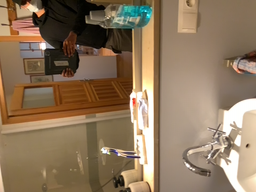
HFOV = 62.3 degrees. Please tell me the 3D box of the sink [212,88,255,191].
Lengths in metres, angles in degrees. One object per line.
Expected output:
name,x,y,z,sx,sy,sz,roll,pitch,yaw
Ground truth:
sink,0.610,0.220,0.840,0.440,0.270,0.430,-152,59,-67
